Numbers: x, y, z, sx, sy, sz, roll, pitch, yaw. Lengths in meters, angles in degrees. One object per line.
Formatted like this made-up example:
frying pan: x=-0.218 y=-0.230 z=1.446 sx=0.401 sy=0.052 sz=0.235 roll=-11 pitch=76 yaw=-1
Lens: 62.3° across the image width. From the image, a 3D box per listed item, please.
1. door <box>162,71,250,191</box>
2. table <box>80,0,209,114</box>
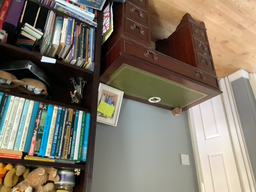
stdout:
door: x=0.910 y=0.780 z=2.620 sx=0.190 sy=2.050 sz=0.880 roll=21 pitch=146 yaw=-36
table: x=0.120 y=-0.370 z=1.790 sx=0.820 sy=0.760 sz=0.560 roll=16 pitch=149 yaw=-30
